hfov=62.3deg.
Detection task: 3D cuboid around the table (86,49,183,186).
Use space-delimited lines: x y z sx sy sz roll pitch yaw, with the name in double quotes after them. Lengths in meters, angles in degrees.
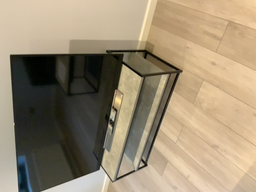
0.000 0.180 1.810 0.420 0.430 1.040 41 128 39 "table"
